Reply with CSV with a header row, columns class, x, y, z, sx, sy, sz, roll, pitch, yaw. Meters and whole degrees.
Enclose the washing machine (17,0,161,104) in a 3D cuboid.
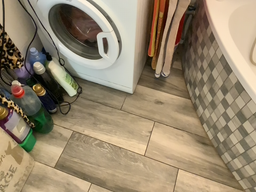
class,x,y,z,sx,sy,sz,roll,pitch,yaw
washing machine,-0.140,-0.510,1.250,0.550,0.840,0.650,17,60,9
